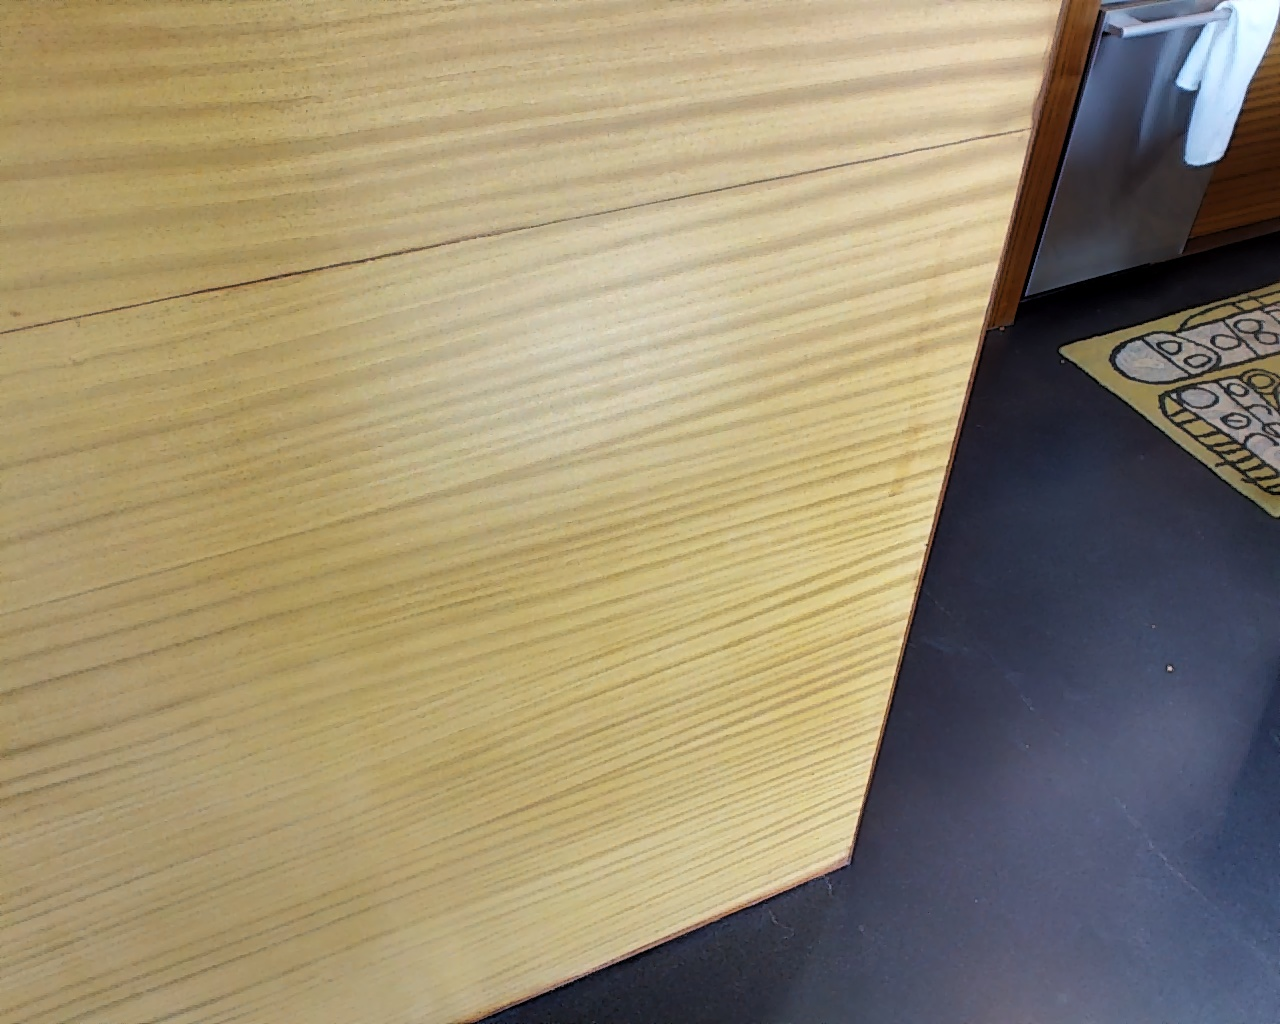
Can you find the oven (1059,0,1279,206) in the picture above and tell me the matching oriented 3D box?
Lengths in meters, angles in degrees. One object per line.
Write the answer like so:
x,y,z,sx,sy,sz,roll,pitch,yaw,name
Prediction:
1.460,-1.100,2.720,0.730,0.470,0.170,-18,44,-19,oven
